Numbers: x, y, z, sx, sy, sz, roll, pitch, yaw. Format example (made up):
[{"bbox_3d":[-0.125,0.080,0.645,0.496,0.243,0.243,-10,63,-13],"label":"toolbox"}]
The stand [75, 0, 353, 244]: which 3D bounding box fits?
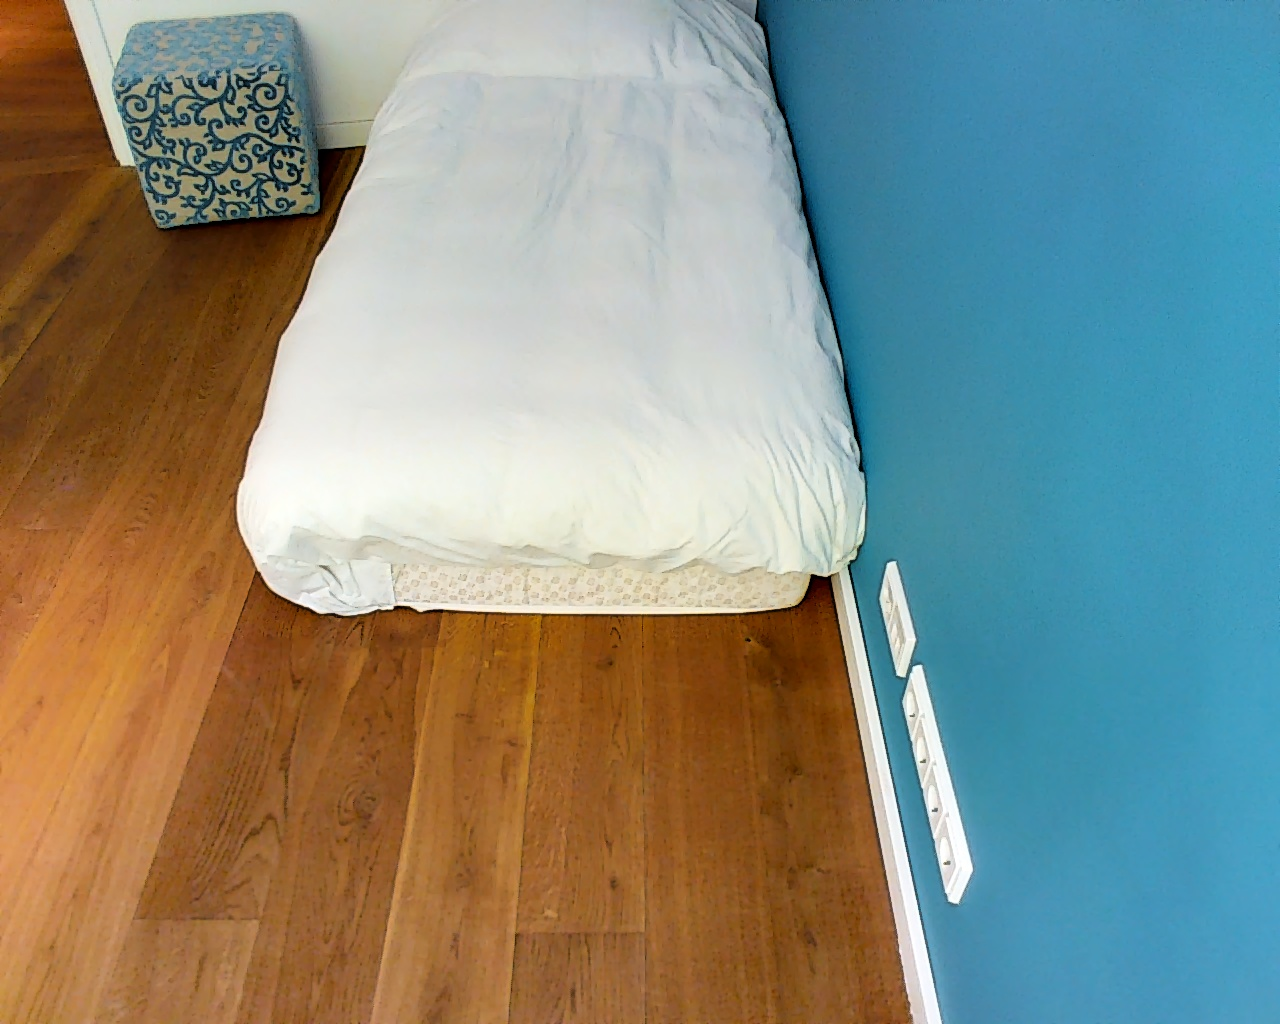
[{"bbox_3d":[-1.120,-1.080,2.910,0.570,0.440,0.510,-9,44,-11],"label":"stand"}]
